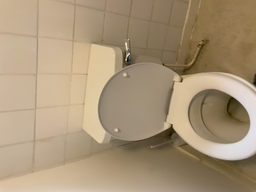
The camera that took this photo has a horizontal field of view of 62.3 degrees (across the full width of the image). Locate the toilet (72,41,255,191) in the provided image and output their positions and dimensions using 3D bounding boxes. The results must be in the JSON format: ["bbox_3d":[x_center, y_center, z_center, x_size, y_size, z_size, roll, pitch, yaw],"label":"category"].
[{"bbox_3d":[0.280,0.050,1.040,0.700,0.820,0.470,24,111,47],"label":"toilet"}]
